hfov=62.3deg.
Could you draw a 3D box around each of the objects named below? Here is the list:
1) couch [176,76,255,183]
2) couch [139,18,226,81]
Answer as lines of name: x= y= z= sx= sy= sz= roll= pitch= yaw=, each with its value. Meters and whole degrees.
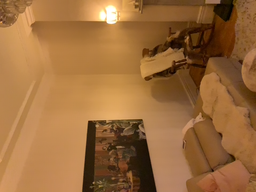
couch: x=1.080 y=0.410 z=2.450 sx=0.600 sy=0.700 sz=1.140 roll=-98 pitch=9 yaw=-49
couch: x=0.790 y=-0.700 z=3.430 sx=0.840 sy=1.080 sz=0.680 roll=111 pitch=157 yaw=-75
